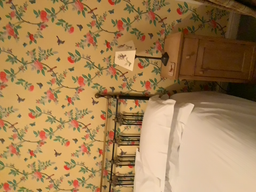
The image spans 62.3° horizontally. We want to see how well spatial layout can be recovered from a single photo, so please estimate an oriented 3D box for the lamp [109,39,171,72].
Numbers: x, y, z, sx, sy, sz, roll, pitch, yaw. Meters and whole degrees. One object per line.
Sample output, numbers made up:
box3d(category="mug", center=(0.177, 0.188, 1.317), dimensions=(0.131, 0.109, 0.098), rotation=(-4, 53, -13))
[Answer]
box3d(category="lamp", center=(0.090, -0.340, 1.820), dimensions=(0.270, 0.450, 0.220), rotation=(-143, 57, -74))
